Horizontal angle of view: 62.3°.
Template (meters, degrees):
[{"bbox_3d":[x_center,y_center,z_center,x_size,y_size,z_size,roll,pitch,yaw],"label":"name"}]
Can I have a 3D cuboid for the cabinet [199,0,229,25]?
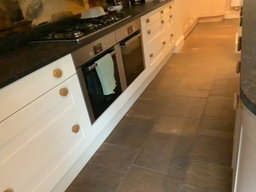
[{"bbox_3d":[2.230,-2.390,5.460,0.630,0.950,0.600,6,32,26],"label":"cabinet"}]

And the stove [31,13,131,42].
[{"bbox_3d":[-0.370,-0.640,1.930,0.480,0.040,0.870,6,31,26],"label":"stove"}]

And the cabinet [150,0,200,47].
[{"bbox_3d":[1.150,-1.870,4.790,0.630,0.960,1.850,6,31,26],"label":"cabinet"}]
